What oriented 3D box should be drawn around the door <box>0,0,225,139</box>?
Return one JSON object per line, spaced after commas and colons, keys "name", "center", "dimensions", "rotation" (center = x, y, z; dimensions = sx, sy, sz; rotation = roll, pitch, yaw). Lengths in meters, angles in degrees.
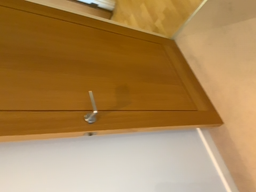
{"name": "door", "center": [-0.310, -0.190, 1.070], "dimensions": [0.030, 2.040, 0.830], "rotation": [-50, 49, 41]}
